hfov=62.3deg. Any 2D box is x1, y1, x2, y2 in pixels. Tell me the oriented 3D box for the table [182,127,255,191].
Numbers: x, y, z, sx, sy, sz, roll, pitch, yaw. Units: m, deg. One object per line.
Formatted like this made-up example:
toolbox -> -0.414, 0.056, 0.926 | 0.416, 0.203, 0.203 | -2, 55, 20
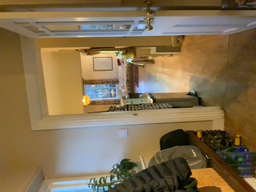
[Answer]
table -> 0.880, 0.610, 1.810 | 1.140, 0.450, 0.260 | -116, 24, -76
